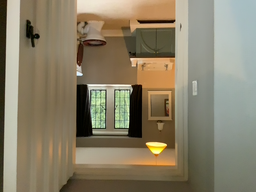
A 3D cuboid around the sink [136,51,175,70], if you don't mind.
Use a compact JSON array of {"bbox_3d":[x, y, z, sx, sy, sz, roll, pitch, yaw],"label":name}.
[{"bbox_3d":[0.510,-0.680,4.100,0.710,0.290,0.450,0,179,3],"label":"sink"}]
